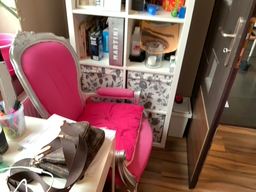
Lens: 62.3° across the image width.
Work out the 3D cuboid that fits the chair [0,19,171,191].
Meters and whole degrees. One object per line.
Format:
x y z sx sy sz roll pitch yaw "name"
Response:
-0.230 0.140 1.360 0.810 1.000 0.590 10 35 9 "chair"
